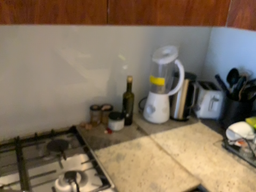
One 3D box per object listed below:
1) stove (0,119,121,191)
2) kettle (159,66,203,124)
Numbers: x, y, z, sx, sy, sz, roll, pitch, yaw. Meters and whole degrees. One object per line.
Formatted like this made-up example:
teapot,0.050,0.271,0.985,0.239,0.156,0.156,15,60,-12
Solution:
stove,-0.400,0.290,0.810,0.570,0.030,0.580,-9,26,-28
kettle,0.310,-0.010,1.280,0.160,0.310,0.150,-2,24,-14
